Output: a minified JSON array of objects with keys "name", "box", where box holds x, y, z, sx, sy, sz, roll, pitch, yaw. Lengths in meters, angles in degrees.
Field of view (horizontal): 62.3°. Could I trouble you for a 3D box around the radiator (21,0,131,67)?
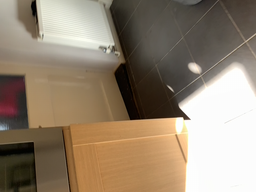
[{"name":"radiator","box":[-0.540,-0.770,2.190,0.210,0.980,0.880,-46,52,46]}]
